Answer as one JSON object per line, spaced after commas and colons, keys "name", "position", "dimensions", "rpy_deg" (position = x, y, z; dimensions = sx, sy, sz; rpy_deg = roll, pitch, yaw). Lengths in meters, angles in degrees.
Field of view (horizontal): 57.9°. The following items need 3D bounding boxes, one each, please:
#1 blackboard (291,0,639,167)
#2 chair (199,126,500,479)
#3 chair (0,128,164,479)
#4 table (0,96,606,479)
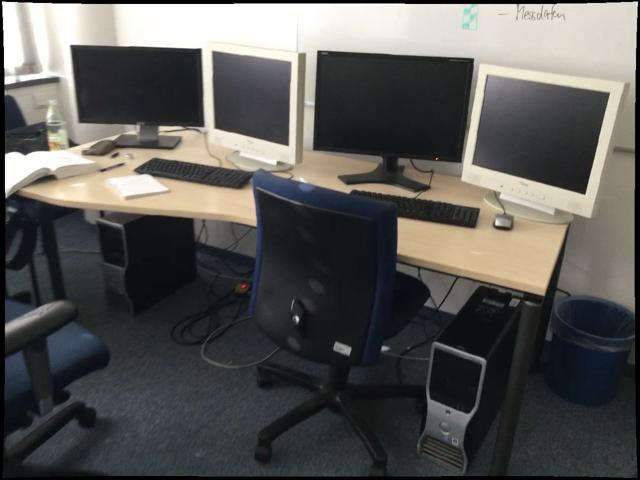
{"name": "blackboard", "position": [0.719, -0.801, 2.060], "dimensions": [1.859, 0.921, 0.080], "rpy_deg": [15, 28, 25]}
{"name": "chair", "position": [0.070, 0.190, 1.870], "dimensions": [0.660, 0.911, 0.570], "rpy_deg": [22, 32, 36]}
{"name": "chair", "position": [-0.919, 0.270, 1.520], "dimensions": [0.660, 0.961, 0.630], "rpy_deg": [15, 28, 25]}
{"name": "table", "position": [-0.130, 0.050, 2.270], "dimensions": [2.049, 0.781, 1.150], "rpy_deg": [15, 28, 25]}
